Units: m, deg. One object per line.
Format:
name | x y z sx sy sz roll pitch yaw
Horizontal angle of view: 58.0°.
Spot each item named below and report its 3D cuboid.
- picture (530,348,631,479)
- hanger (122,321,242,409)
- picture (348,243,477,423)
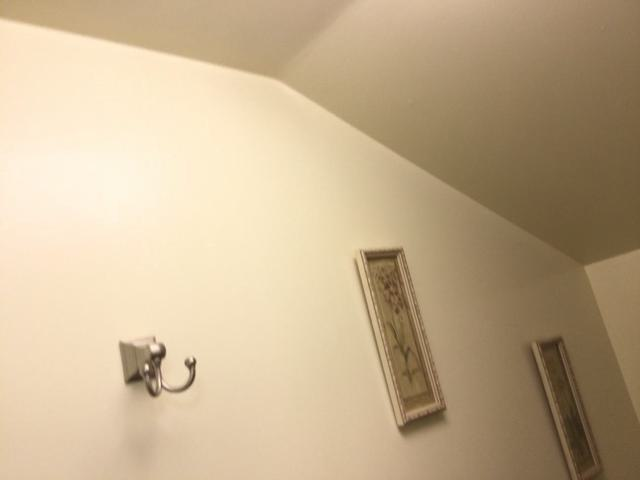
picture | 0.620 0.430 1.370 0.210 0.330 0.030 3 -23 -37
hanger | -0.190 0.170 0.790 0.120 0.090 0.100 3 -23 -37
picture | 0.180 0.170 1.130 0.210 0.330 0.040 3 -23 -37
